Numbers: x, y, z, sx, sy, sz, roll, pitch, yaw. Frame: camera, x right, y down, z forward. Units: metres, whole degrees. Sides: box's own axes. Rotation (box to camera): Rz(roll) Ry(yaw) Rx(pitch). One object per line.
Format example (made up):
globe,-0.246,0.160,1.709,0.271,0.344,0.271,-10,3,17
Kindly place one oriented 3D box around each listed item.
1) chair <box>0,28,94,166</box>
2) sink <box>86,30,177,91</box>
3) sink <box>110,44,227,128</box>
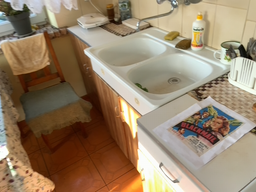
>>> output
chair,-0.730,-0.020,1.840,0.510,0.850,0.690,-21,38,-19
sink,0.020,-0.270,1.460,0.480,0.160,0.390,-23,38,-21
sink,0.210,-0.090,1.180,0.480,0.160,0.380,-23,38,-21
